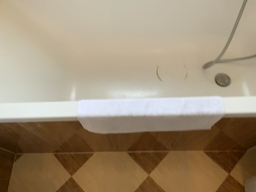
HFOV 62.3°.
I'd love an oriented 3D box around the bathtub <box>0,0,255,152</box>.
[{"bbox_3d":[0.100,-0.120,1.100,1.550,0.590,0.680,-1,64,2],"label":"bathtub"}]
